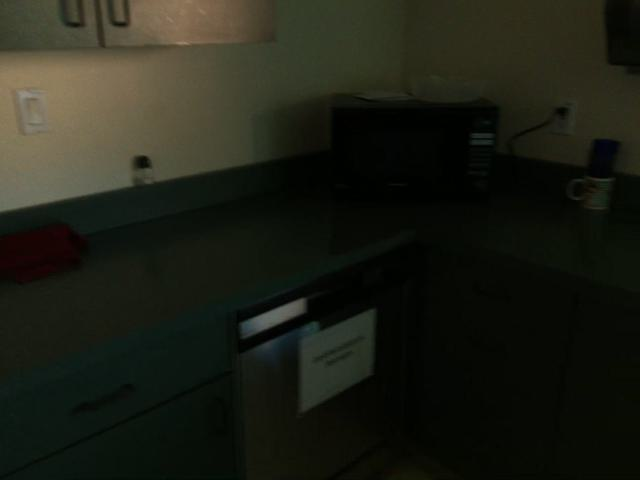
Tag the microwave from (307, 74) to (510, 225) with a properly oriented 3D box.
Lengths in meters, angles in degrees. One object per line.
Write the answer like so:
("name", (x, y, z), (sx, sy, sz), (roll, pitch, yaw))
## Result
("microwave", (0.260, -0.310, 1.800), (0.380, 0.360, 0.460), (-16, 27, -42))
